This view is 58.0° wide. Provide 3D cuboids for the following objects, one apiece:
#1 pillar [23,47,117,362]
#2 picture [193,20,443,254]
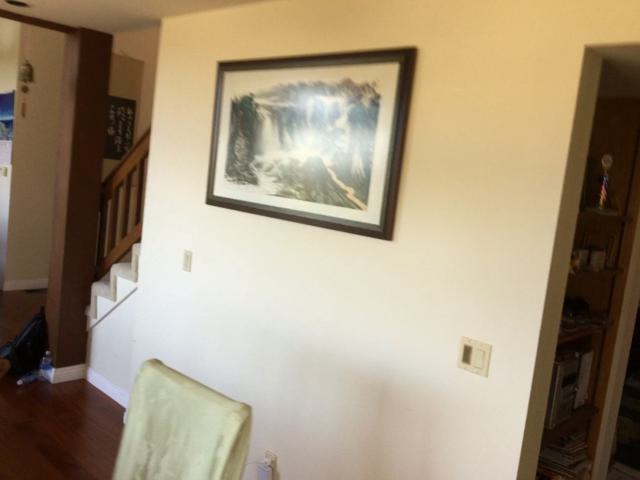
[{"bbox_3d":[-1.700,-0.220,3.910,0.280,2.060,0.270,17,10,42],"label":"pillar"},{"bbox_3d":[-0.100,-0.490,2.530,1.230,0.840,0.120,17,10,42],"label":"picture"}]
